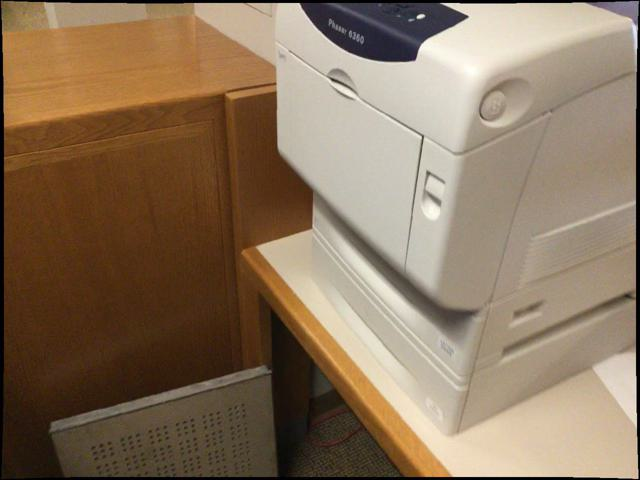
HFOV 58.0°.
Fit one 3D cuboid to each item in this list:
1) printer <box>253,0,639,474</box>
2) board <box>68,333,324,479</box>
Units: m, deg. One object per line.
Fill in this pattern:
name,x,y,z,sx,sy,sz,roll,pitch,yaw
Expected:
printer,0.289,-0.130,0.850,0.579,0.611,0.490,-1,12,-31
board,-0.279,0.501,1.340,0.509,0.501,0.130,-8,35,-26
